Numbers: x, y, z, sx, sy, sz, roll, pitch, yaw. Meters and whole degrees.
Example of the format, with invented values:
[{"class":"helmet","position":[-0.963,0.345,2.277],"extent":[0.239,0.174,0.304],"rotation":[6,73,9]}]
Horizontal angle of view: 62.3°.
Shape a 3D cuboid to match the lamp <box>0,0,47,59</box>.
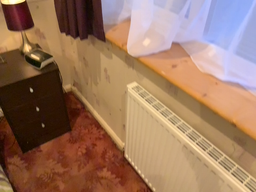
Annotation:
[{"class":"lamp","position":[-0.690,-0.450,1.400],"extent":[0.170,0.320,0.200],"rotation":[-23,47,-26]}]
